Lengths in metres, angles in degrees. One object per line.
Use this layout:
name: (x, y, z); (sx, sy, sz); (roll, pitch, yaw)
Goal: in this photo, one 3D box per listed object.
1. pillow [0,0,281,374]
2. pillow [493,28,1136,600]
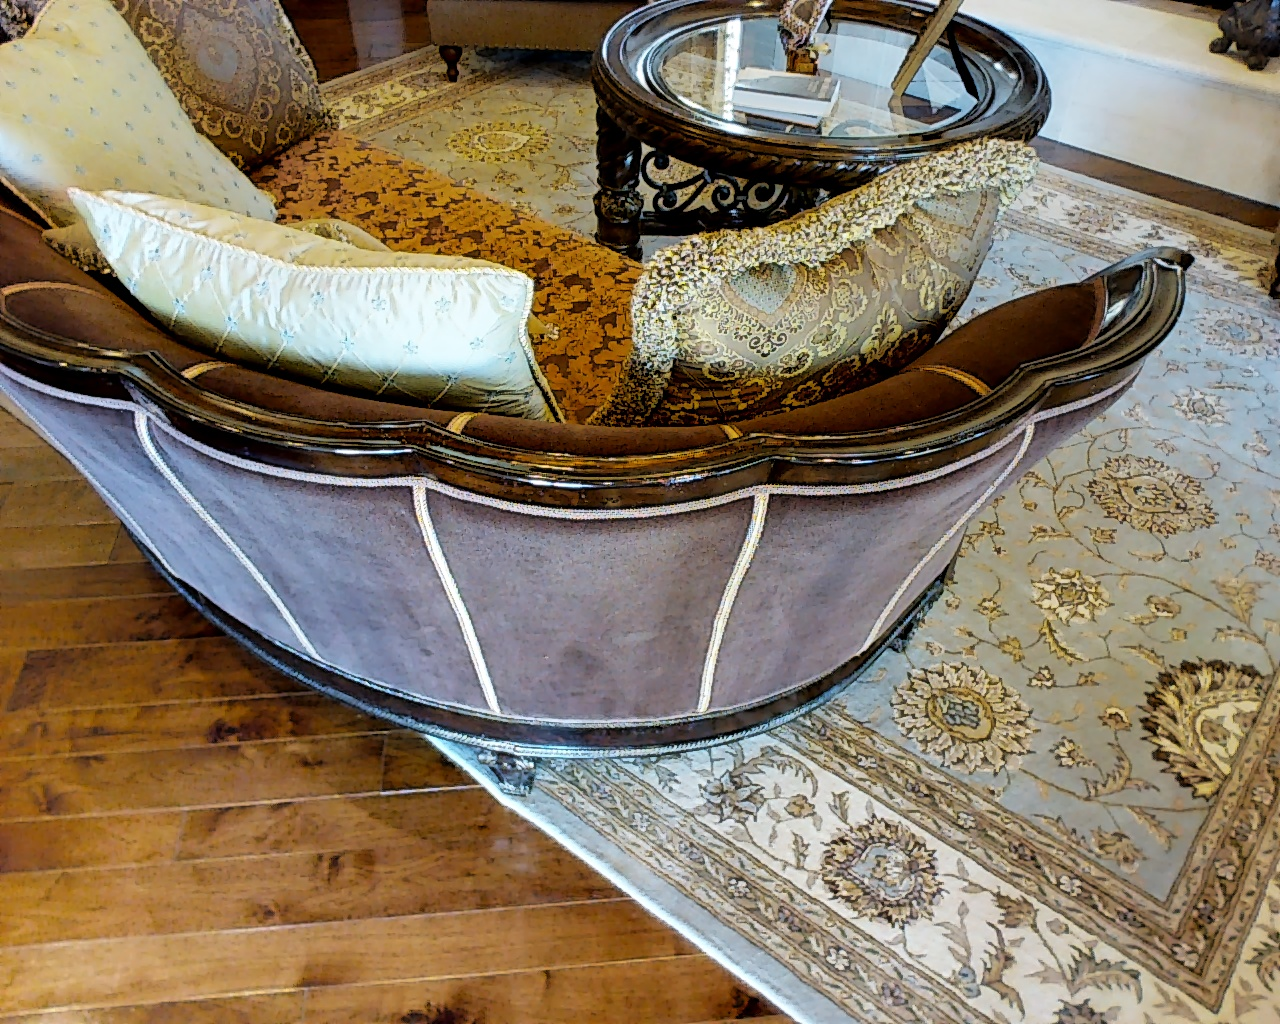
pillow: (-0.900, -0.610, 1.890); (0.240, 0.590, 0.590); (22, 12, -15)
pillow: (0.240, -0.240, 1.450); (0.700, 0.570, 0.300); (-5, 35, -41)
